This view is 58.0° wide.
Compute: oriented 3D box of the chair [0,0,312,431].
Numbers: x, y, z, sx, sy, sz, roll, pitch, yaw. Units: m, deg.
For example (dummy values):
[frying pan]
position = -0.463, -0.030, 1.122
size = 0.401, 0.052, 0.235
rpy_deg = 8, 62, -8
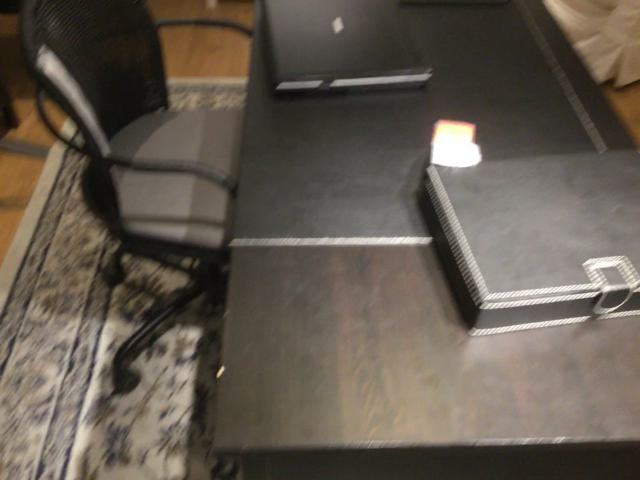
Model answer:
[chair]
position = -0.260, -0.090, 1.210
size = 0.460, 0.800, 0.640
rpy_deg = -2, 47, -2
